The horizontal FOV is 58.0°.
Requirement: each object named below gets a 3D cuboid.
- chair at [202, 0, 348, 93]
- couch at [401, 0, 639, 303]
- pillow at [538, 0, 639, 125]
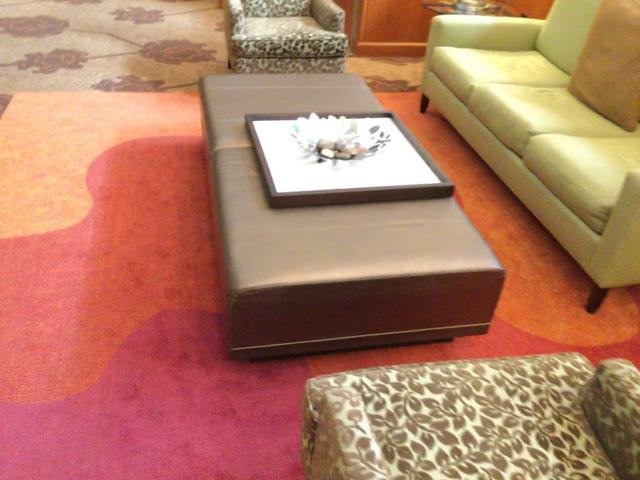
[{"bbox_3d":[-0.330,-1.590,3.710,0.790,0.960,0.900,-5,39,-13],"label":"chair"},{"bbox_3d":[1.310,-0.790,2.830,1.030,0.840,2.140,-5,39,-13],"label":"couch"},{"bbox_3d":[1.410,-0.930,2.760,0.300,0.520,0.600,-5,39,-13],"label":"pillow"}]
